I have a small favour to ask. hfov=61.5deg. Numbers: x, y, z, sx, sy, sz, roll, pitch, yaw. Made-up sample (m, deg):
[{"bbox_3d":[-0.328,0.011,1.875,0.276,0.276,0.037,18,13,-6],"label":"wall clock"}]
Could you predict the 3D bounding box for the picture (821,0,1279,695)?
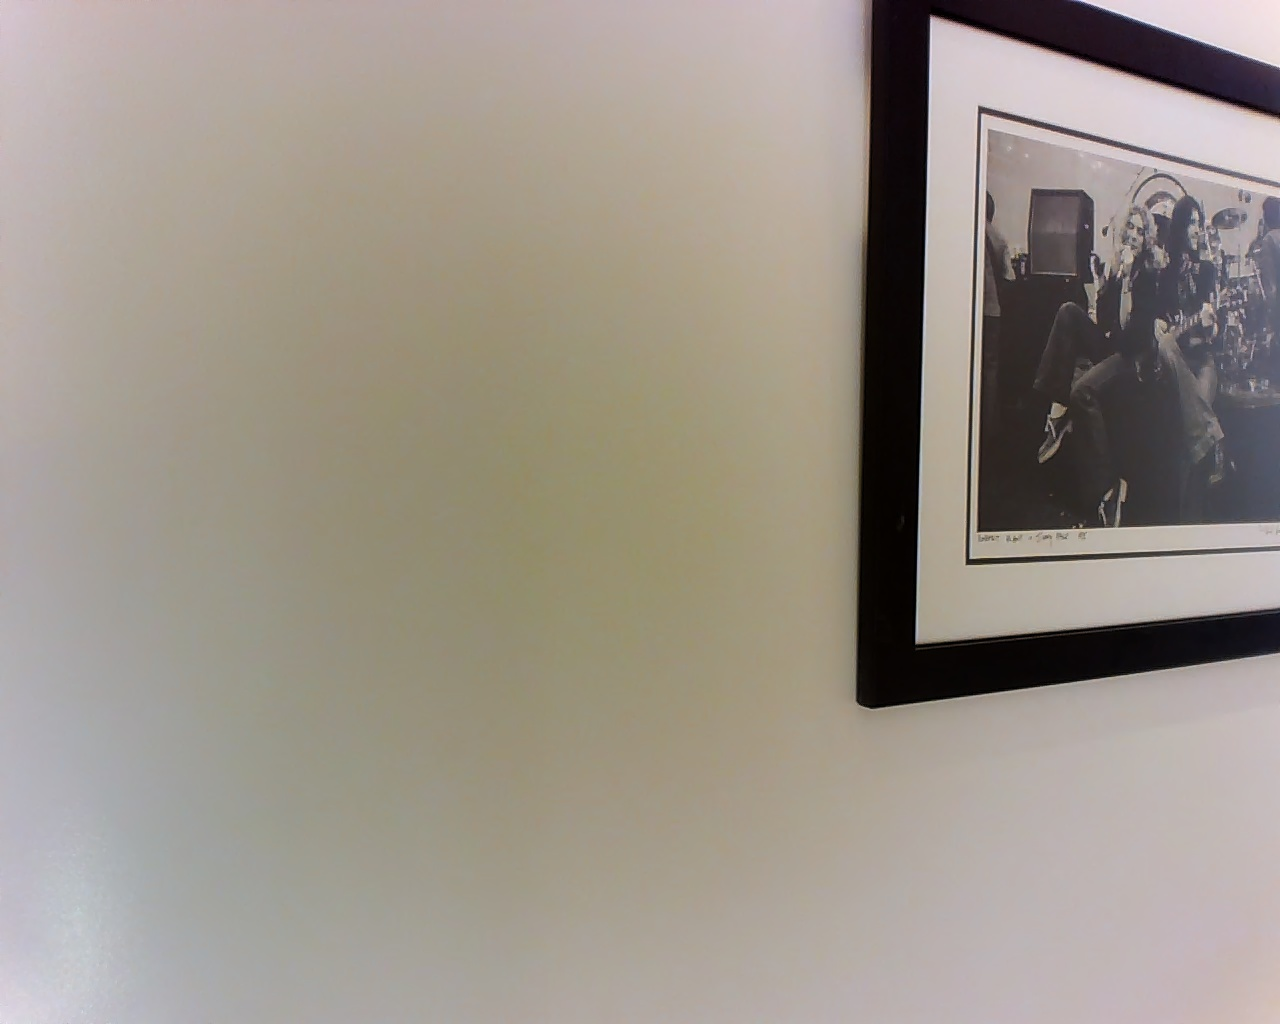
[{"bbox_3d":[0.480,-0.150,1.000,0.740,0.600,0.030,2,0,-30],"label":"picture"}]
